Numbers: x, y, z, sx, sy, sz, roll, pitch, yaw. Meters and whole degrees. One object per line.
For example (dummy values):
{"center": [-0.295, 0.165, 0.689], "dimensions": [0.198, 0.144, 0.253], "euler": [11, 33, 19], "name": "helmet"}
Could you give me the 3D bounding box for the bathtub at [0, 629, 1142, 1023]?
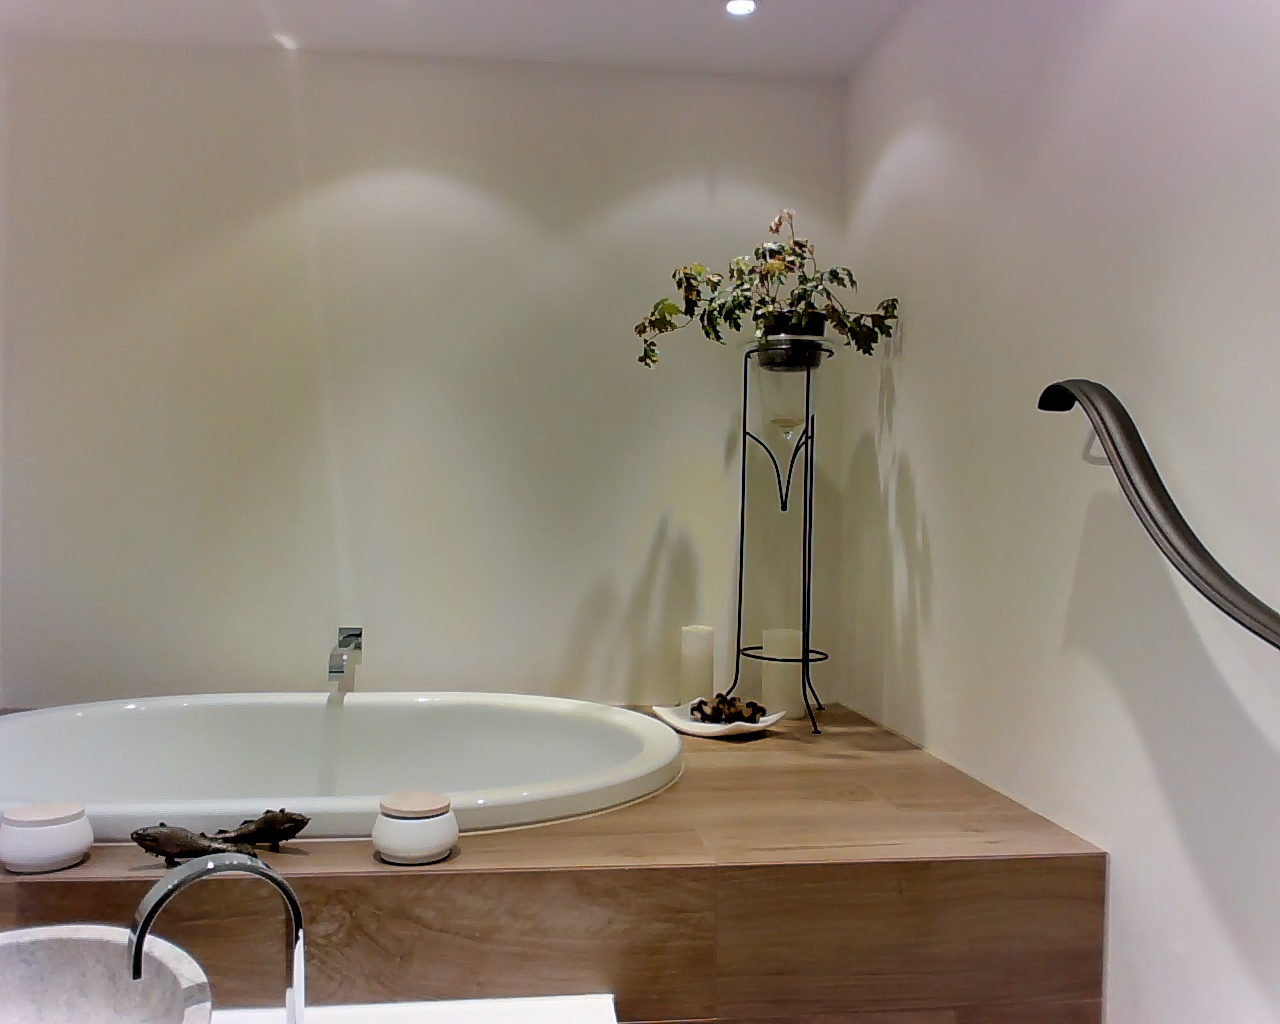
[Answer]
{"center": [-0.400, 0.630, 1.980], "dimensions": [2.040, 0.660, 1.260], "euler": [0, 1, -6], "name": "bathtub"}
